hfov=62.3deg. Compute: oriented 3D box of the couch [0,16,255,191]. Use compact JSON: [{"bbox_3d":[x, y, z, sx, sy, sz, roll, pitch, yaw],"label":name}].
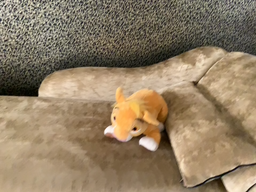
[{"bbox_3d":[-0.030,0.120,1.000,1.630,0.710,0.790,4,24,-12],"label":"couch"}]
